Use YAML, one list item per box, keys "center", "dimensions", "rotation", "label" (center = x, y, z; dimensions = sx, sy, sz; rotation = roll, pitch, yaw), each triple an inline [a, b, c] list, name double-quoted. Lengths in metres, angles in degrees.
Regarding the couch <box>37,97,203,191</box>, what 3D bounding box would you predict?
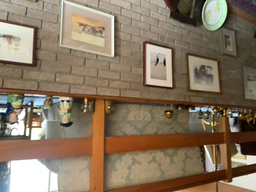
- center: [-0.080, 0.570, 2.650]
  dimensions: [1.750, 0.920, 1.040]
  rotation: [5, 173, -32]
  label: "couch"
